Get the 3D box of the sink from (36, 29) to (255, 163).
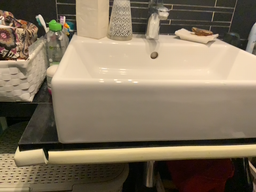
[{"bbox_3d":[0.090,-0.050,0.580,0.530,0.160,0.430,-1,28,-9],"label":"sink"}]
